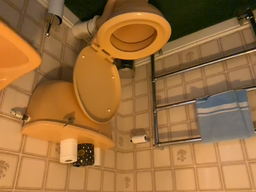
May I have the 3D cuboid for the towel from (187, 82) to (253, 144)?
[{"bbox_3d":[0.560,0.110,1.320,0.310,0.320,0.100,-14,152,26],"label":"towel"}]
